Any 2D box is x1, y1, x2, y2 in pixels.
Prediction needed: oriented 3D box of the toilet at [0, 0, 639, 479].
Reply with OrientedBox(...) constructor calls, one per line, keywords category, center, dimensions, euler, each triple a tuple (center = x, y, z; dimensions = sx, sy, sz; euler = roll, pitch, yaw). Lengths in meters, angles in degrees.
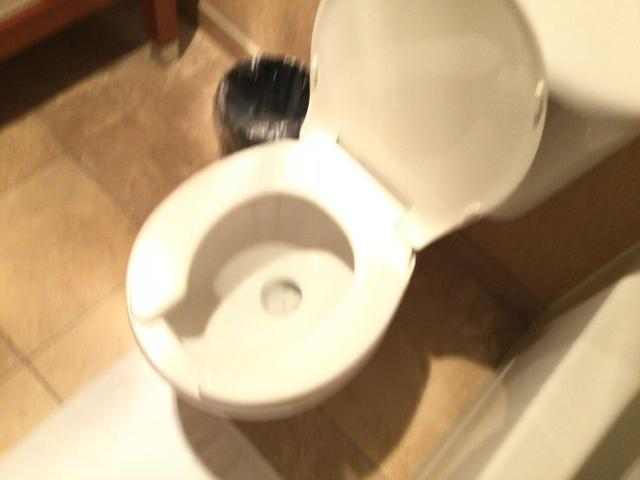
OrientedBox(category="toilet", center=(0.040, -0.030, 0.870), dimensions=(0.490, 0.770, 0.680), euler=(43, 64, 13))
